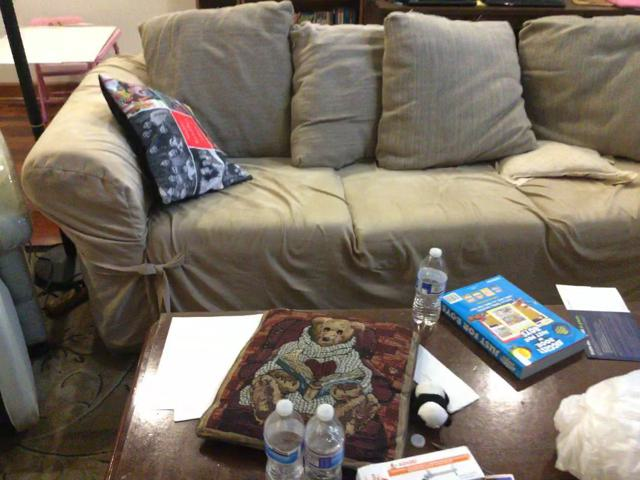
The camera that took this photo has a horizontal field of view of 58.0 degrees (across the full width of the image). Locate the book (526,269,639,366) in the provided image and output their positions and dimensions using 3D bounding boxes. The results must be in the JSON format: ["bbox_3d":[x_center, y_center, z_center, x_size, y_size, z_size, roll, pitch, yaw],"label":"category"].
[{"bbox_3d":[0.650,0.180,1.410,0.180,0.270,0.040,-14,-60,0],"label":"book"}]

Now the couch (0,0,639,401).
[{"bbox_3d":[0.300,-0.240,1.930,2.330,0.990,0.950,-1,-59,-7],"label":"couch"}]

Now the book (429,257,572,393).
[{"bbox_3d":[0.410,0.190,1.360,0.220,0.310,0.080,21,-64,-19],"label":"book"}]
